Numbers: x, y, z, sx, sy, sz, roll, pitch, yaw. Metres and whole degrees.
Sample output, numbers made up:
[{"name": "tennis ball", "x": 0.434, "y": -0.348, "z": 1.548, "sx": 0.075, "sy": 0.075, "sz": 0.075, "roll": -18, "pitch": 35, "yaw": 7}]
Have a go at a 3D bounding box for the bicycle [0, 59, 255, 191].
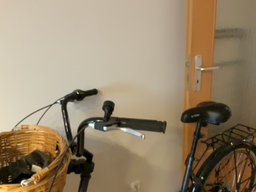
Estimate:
[{"name": "bicycle", "x": 0.240, "y": 0.480, "z": 1.170, "sx": 1.970, "sy": 1.080, "sz": 0.530, "roll": -12, "pitch": 21, "yaw": -26}]
